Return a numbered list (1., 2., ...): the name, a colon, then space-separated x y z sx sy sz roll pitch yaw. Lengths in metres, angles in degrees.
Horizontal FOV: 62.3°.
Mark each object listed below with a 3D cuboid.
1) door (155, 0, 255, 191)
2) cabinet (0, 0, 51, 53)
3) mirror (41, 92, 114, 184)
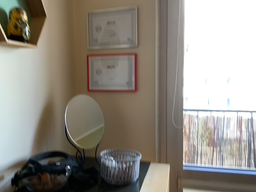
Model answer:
1. door: 0.580 0.130 1.220 0.830 2.510 0.090 1 4 14
2. cabinet: -0.420 -0.340 0.790 0.080 0.310 0.310 1 4 13
3. mirror: -0.250 0.190 1.160 0.250 0.400 0.350 1 4 14
